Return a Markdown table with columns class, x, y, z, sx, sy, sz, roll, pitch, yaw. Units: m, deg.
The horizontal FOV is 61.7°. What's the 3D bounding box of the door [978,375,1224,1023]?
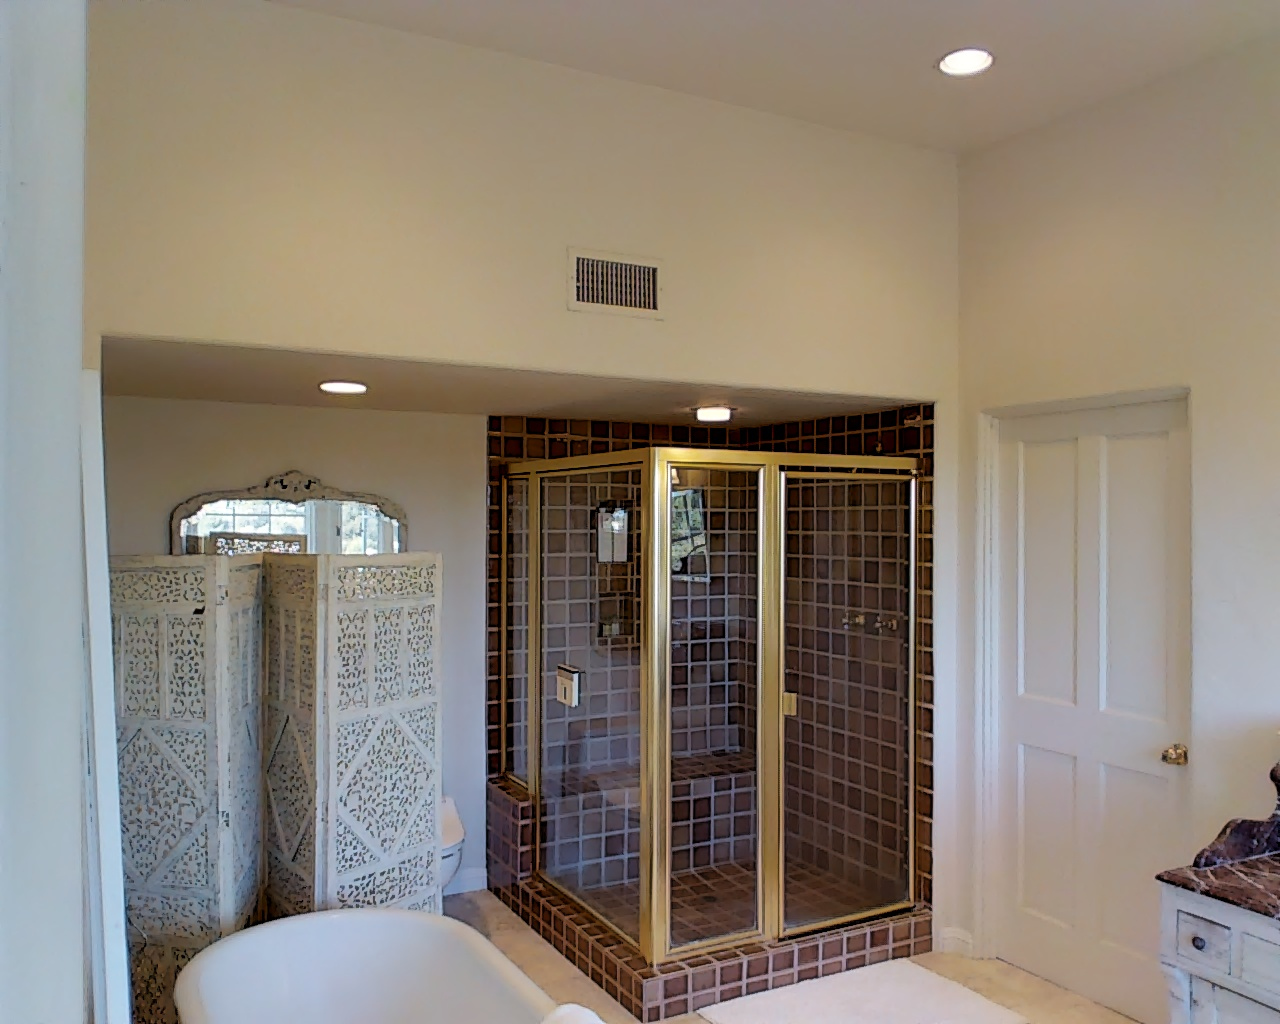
| class | x | y | z | sx | sy | sz | roll | pitch | yaw |
| --- | --- | --- | --- | --- | --- | --- | --- | --- | --- |
| door | 1.530 | 0.620 | 3.660 | 0.110 | 2.061 | 0.890 | 0 | -1 | -28 |
